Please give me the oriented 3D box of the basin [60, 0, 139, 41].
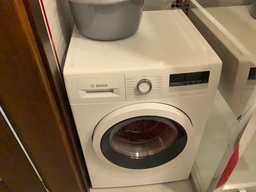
[{"bbox_3d":[-0.110,-0.440,1.010,0.300,0.170,0.410,-1,41,0],"label":"basin"}]
